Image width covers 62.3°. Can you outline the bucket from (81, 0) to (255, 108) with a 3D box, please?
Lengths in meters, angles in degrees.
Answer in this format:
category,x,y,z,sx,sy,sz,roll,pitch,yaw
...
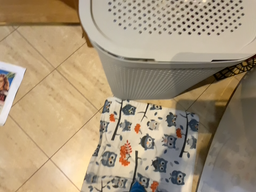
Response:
category,x,y,z,sx,sy,sz,roll,pitch,yaw
bucket,0.090,-0.190,0.770,0.410,0.620,0.360,1,77,-4
